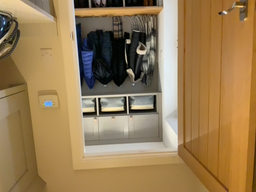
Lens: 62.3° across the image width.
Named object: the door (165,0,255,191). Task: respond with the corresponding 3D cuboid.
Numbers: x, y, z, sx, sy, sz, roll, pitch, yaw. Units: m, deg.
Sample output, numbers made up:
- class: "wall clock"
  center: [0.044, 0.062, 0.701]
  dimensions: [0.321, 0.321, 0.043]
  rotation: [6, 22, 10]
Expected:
- class: "door"
  center: [0.430, -0.470, 1.220]
  dimensions: [0.140, 2.140, 0.910]
  rotation: [-4, -169, -9]
